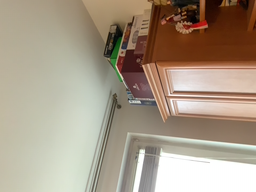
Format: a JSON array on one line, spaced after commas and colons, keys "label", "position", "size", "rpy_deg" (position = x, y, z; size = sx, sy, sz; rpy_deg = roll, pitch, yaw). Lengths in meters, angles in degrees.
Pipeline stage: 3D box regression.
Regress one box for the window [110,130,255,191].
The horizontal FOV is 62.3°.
[{"label": "window", "position": [0.440, 1.010, 1.480], "size": [0.140, 1.280, 1.480], "rpy_deg": [63, -146, -55]}]
